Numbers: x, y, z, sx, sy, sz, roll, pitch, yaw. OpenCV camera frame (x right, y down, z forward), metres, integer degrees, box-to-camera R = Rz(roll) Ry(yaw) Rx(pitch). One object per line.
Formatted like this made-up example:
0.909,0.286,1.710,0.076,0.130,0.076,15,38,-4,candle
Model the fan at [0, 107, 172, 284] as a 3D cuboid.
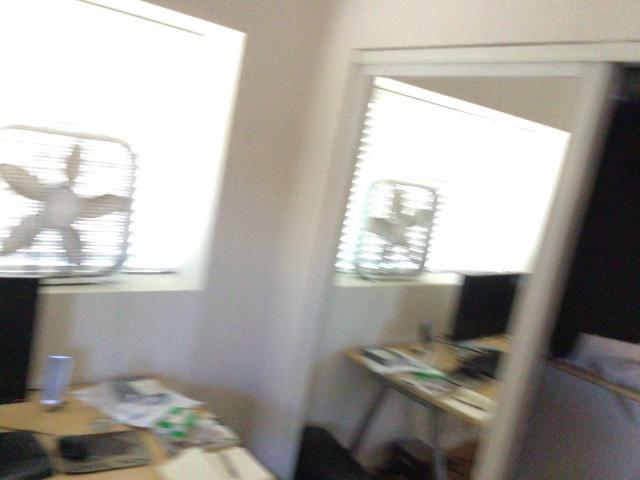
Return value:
-0.870,-0.140,2.040,0.560,0.540,0.250,4,7,-39,fan
